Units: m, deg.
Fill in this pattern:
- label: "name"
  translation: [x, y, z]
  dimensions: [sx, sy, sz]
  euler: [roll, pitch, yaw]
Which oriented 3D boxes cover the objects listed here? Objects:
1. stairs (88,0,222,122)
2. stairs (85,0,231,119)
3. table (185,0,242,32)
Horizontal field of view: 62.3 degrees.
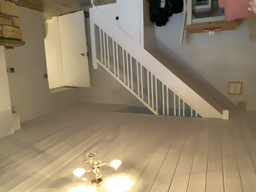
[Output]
- label: "stairs"
  translation: [0.430, -0.770, 4.030]
  dimensions: [2.420, 2.420, 0.160]
  euler: [1, -170, 18]
- label: "stairs"
  translation: [0.550, -0.860, 4.360]
  dimensions: [2.680, 2.370, 0.750]
  euler: [2, -170, 19]
- label: "table"
  translation: [1.530, -1.600, 3.830]
  dimensions: [0.870, 0.700, 0.860]
  euler: [2, -170, 22]
